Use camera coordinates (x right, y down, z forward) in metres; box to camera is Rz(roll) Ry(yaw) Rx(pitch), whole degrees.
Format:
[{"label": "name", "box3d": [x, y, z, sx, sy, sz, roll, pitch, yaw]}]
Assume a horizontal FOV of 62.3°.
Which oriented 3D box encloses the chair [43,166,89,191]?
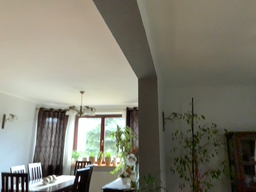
[{"label": "chair", "box3d": [-1.080, 1.810, 3.670, 0.600, 1.080, 0.490, -3, -14, 13]}]
